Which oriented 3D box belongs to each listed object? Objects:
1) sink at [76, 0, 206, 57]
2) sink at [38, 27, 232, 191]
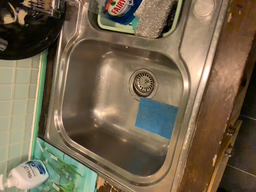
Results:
[{"bbox_3d":[0.050,-0.250,0.670,0.280,0.280,0.180,18,103,30],"label":"sink"},{"bbox_3d":[0.000,0.050,0.730,0.520,0.280,0.450,18,103,30],"label":"sink"}]
